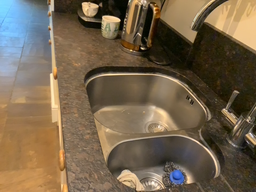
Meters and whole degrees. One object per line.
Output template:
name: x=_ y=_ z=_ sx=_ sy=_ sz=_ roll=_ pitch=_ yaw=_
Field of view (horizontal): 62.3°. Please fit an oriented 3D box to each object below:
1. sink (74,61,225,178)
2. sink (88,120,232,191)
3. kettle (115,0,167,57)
sink: x=0.040 y=0.060 z=0.820 sx=0.440 sy=0.230 sz=0.350 roll=-1 pitch=37 yaw=-20
sink: x=0.070 y=0.200 z=0.590 sx=0.320 sy=0.180 sz=0.170 roll=-1 pitch=37 yaw=-20
kettle: x=0.050 y=-0.330 z=1.010 sx=0.160 sy=0.240 sz=0.140 roll=0 pitch=36 yaw=-19
